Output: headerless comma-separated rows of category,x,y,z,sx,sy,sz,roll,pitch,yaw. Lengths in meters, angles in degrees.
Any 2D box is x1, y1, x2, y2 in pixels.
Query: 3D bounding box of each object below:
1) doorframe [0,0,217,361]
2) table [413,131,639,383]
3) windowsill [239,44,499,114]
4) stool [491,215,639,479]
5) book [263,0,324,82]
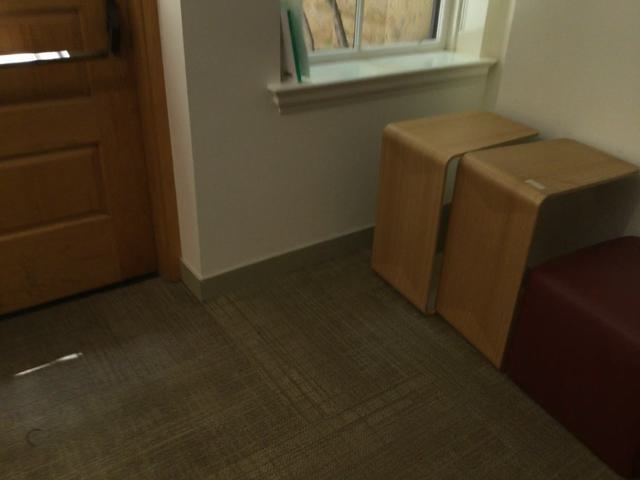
doorframe,-0.860,-0.290,1.680,1.080,1.290,0.250,-14,32,-32
table,0.680,0.030,1.950,0.480,0.640,0.420,-14,33,-32
windowsill,0.230,-0.650,2.260,1.090,0.150,0.240,-14,32,-32
stool,0.940,0.280,1.680,0.580,0.460,0.520,-12,31,-28
book,-0.090,-0.690,1.940,0.160,0.280,0.110,-14,32,-32
